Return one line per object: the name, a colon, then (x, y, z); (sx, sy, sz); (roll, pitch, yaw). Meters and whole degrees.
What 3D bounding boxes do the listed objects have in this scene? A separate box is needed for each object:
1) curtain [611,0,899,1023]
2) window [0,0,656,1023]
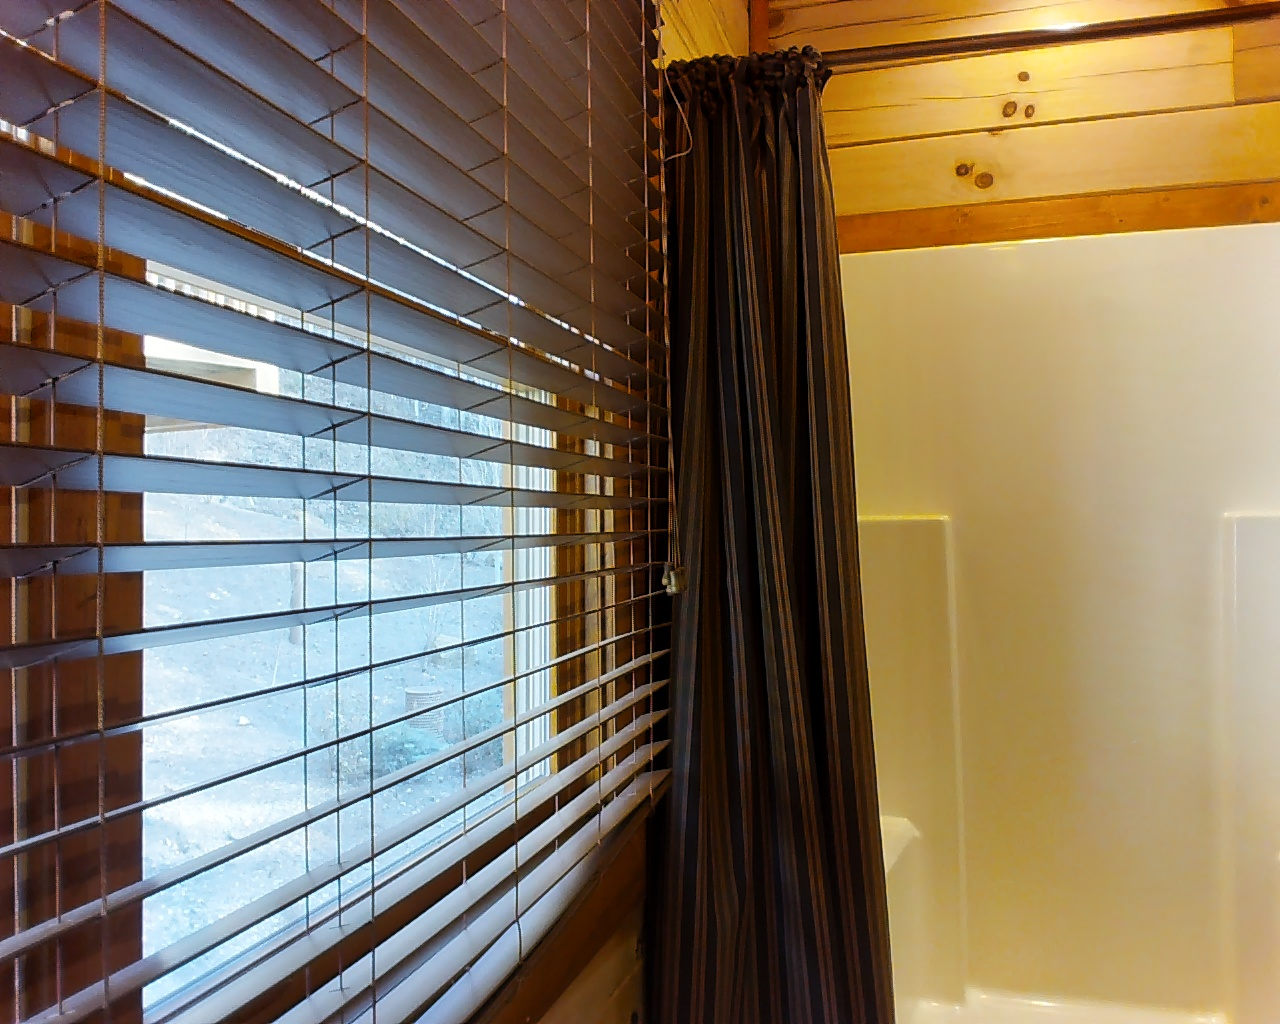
curtain: (0.220, 0.120, 1.850); (0.420, 1.941, 0.460); (0, 0, 16)
window: (-0.330, -0.220, 0.710); (0.070, 1.561, 2.250); (0, 0, 17)
